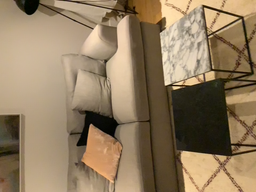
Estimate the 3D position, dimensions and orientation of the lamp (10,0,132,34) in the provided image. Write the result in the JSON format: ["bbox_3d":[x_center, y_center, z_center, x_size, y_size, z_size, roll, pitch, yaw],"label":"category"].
[{"bbox_3d":[-0.640,-1.090,2.680,0.170,1.480,0.350,-13,78,61],"label":"lamp"}]
